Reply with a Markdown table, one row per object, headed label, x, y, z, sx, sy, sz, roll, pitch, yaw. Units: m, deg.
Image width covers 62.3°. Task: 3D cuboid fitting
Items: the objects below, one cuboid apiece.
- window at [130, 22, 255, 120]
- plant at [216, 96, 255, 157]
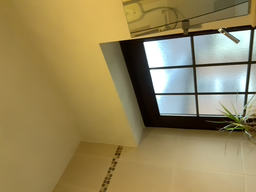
| label | x | y | z | sx | sy | sz | roll | pitch | yaw |
| --- | --- | --- | --- | --- | --- | --- | --- | --- | --- |
| window | 0.560 | -0.120 | 1.360 | 0.110 | 0.990 | 0.630 | -65 | -32 | -45 |
| plant | 0.820 | 0.190 | 1.260 | 0.200 | 0.540 | 0.320 | -64 | -33 | -46 |
